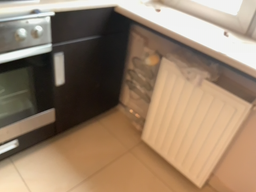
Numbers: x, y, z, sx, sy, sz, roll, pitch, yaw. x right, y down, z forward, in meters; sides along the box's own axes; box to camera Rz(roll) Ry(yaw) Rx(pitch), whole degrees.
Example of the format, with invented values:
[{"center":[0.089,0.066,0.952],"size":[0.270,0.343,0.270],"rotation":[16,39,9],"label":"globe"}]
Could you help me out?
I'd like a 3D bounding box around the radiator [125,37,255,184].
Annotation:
[{"center":[0.270,0.080,1.220],"size":[0.150,0.640,0.560],"rotation":[-23,48,-38],"label":"radiator"}]
